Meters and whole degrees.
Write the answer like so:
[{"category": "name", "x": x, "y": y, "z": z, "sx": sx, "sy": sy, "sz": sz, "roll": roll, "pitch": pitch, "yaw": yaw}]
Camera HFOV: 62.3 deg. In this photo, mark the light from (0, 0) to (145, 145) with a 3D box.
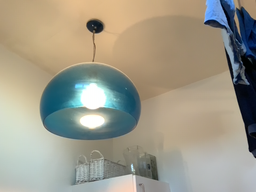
[{"category": "light", "x": -0.410, "y": -0.110, "z": 1.450, "sx": 0.810, "sy": 0.600, "sz": 0.580, "roll": -22, "pitch": -34, "yaw": 28}]
